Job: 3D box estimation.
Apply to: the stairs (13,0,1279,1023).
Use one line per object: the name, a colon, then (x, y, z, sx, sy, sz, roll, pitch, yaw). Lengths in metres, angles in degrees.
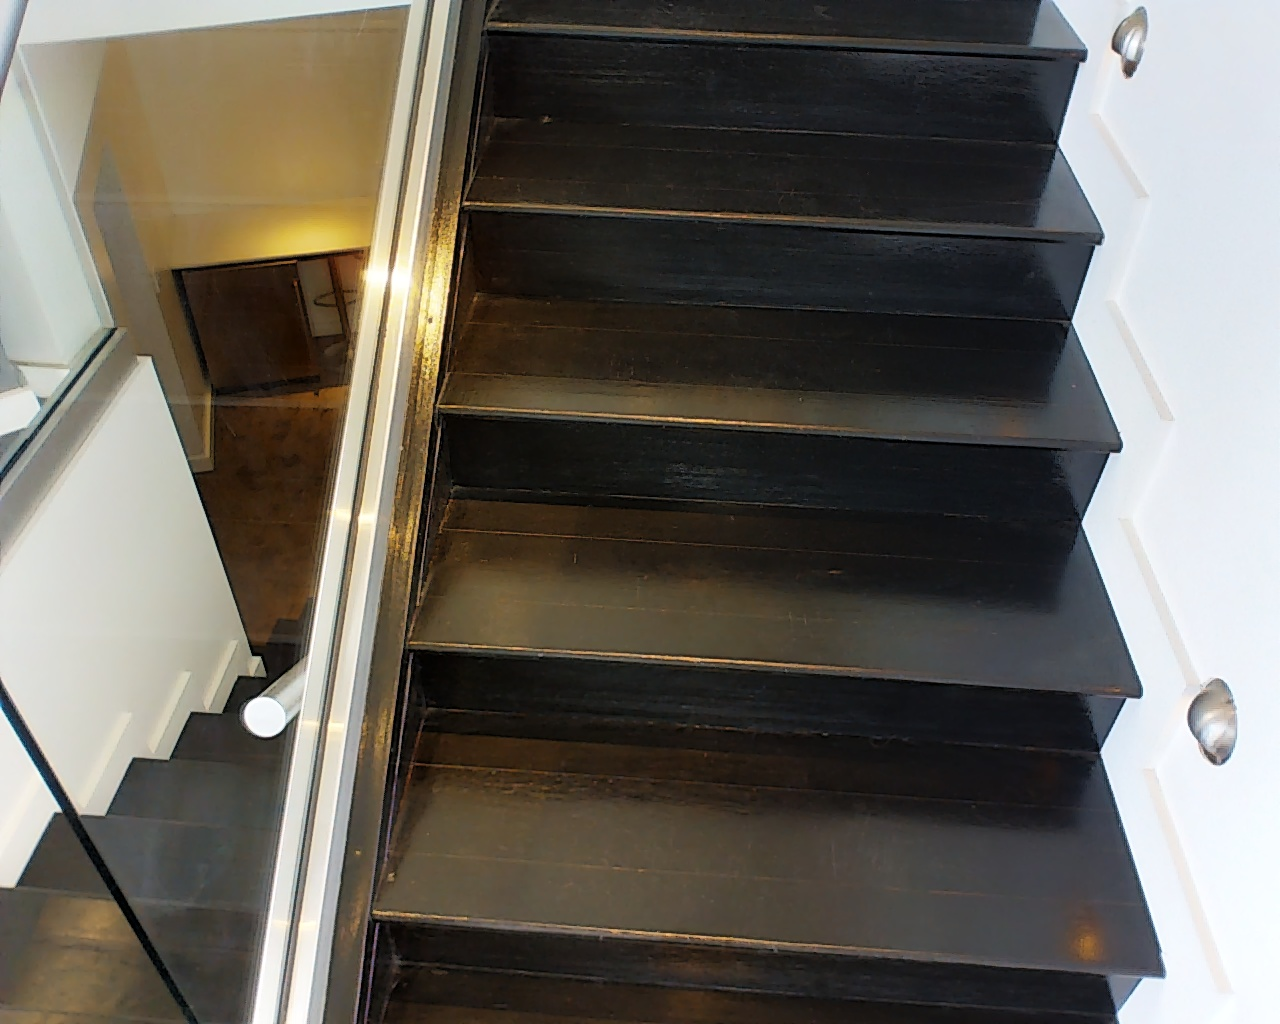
stairs: (0.230, -0.420, 1.450, 1.070, 0.930, 3.310, 3, 67, 1)
